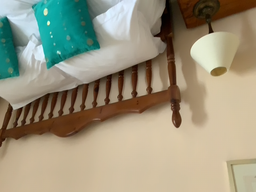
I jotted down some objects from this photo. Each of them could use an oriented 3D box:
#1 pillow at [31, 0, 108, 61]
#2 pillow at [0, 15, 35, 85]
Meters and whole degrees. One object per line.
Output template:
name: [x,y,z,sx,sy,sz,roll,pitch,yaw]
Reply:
pillow: [-0.330,-0.420,1.200,0.310,0.350,0.170,-15,180,23]
pillow: [-0.860,-0.290,1.440,0.350,0.360,0.140,-15,-179,24]
